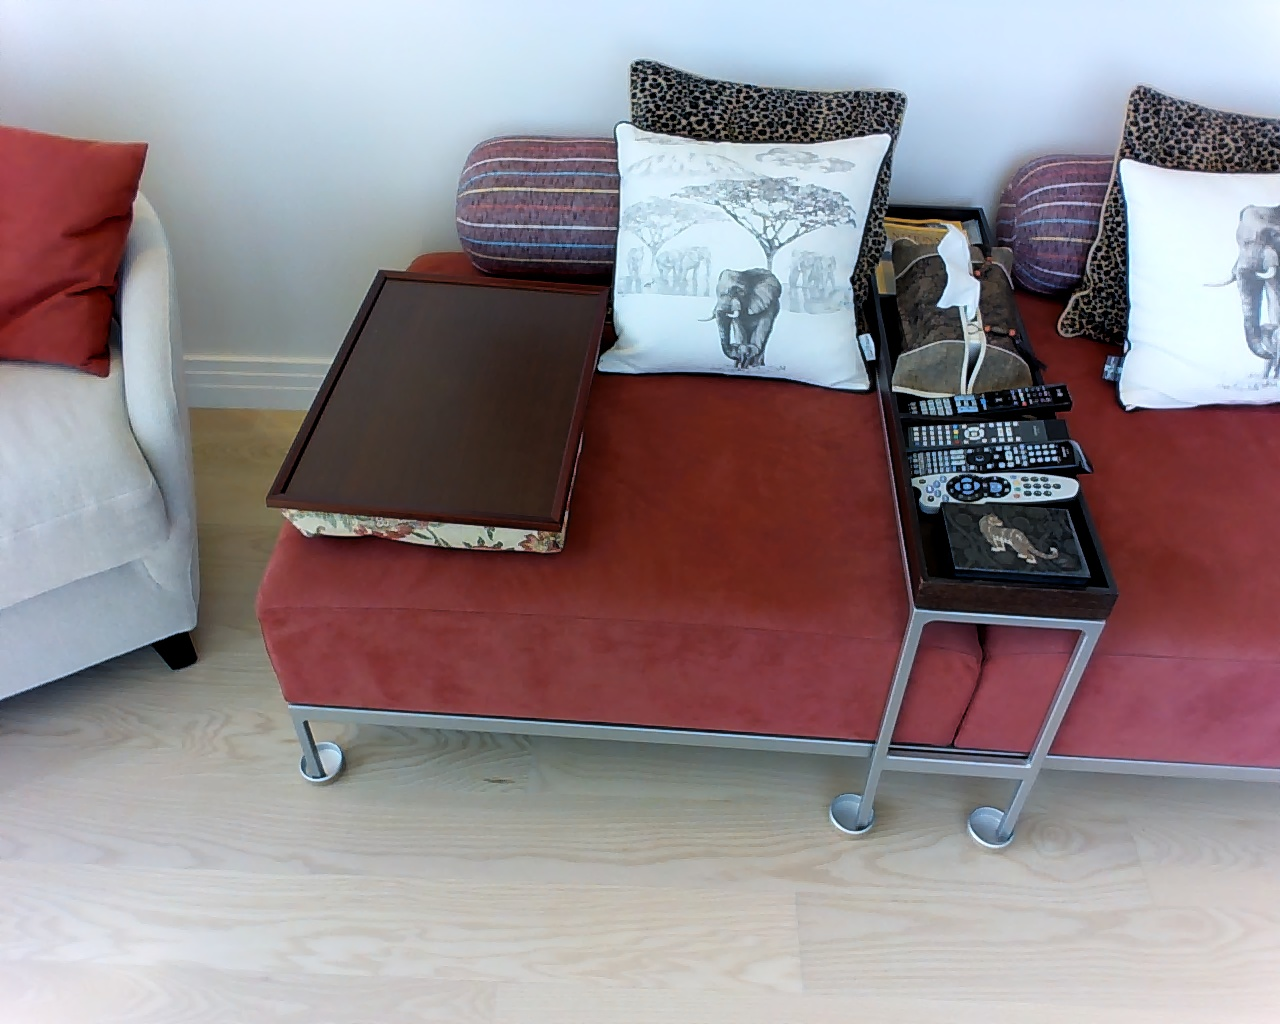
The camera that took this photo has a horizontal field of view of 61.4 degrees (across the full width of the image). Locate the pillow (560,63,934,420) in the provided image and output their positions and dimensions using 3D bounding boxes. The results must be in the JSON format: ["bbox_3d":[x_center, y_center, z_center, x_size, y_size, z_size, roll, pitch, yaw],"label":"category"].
[{"bbox_3d":[0.160,-0.380,1.620,0.410,0.160,0.360,28,-39,-23],"label":"pillow"}]
